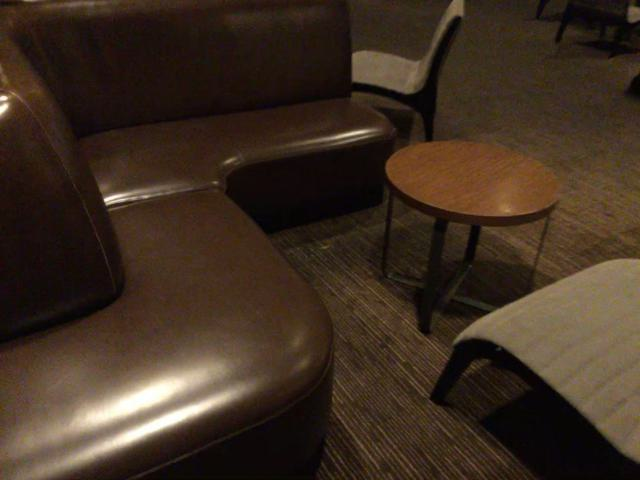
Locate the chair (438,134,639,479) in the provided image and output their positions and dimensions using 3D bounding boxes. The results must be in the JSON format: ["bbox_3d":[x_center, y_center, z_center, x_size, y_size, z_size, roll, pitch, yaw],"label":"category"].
[{"bbox_3d":[0.840,0.250,1.420,0.750,0.700,0.770,-19,31,-24],"label":"chair"}]
